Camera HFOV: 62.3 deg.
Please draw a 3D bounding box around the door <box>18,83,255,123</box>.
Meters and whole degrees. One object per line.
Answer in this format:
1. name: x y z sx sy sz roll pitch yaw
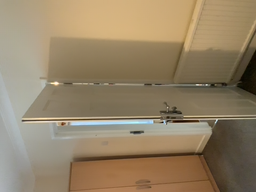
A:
1. door: 0.240 0.020 1.830 0.790 1.970 0.030 -114 26 -69
